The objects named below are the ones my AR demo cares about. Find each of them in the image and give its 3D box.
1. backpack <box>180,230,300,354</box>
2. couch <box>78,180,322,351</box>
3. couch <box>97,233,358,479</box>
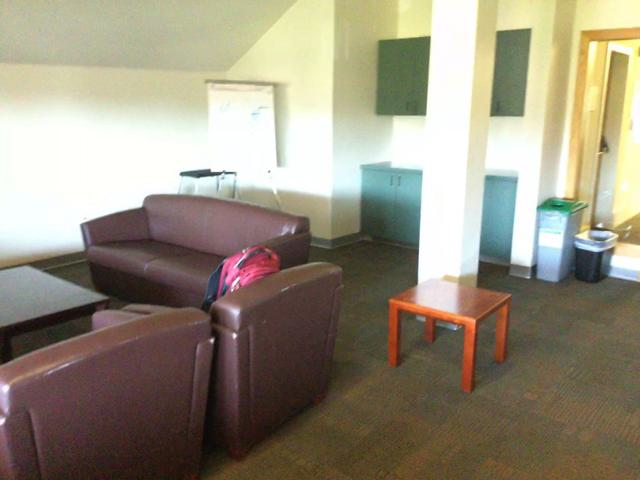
[{"bbox_3d":[-0.360,0.210,2.600,0.360,0.470,0.350,10,7,40],"label":"backpack"},{"bbox_3d":[-0.830,0.080,3.970,1.470,0.780,0.800,9,18,36],"label":"couch"},{"bbox_3d":[-0.390,0.460,2.710,0.790,0.740,0.840,8,18,35],"label":"couch"}]
